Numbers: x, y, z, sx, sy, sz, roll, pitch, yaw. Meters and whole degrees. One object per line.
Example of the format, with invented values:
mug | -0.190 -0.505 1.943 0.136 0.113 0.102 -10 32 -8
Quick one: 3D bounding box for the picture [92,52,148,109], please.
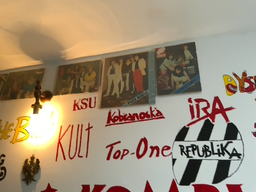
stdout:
picture | -0.040 -0.100 1.320 0.330 0.360 0.040 -4 -26 13
